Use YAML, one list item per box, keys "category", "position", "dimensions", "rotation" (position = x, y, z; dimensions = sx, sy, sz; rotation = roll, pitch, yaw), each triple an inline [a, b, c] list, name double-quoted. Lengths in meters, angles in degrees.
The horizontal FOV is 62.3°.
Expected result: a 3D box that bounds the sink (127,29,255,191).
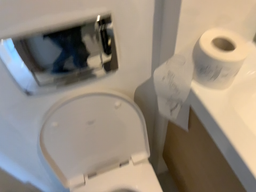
- category: "sink"
  position: [0.390, 0.010, 0.600]
  dimensions: [0.680, 0.130, 0.420]
  rotation: [-17, 54, -9]
